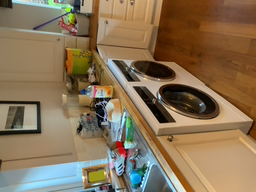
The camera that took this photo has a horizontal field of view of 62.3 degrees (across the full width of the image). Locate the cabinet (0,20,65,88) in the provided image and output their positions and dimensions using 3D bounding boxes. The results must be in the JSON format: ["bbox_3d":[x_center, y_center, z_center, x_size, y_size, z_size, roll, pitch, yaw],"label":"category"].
[{"bbox_3d":[-1.350,-0.520,2.650,0.420,1.010,0.740,-137,50,-59],"label":"cabinet"}]
